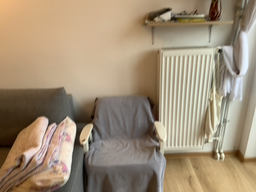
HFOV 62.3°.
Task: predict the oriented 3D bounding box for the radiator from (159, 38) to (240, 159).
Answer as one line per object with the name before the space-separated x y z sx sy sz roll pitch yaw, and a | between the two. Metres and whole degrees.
radiator | 0.570 0.050 1.860 0.530 1.050 0.210 -1 22 -1
